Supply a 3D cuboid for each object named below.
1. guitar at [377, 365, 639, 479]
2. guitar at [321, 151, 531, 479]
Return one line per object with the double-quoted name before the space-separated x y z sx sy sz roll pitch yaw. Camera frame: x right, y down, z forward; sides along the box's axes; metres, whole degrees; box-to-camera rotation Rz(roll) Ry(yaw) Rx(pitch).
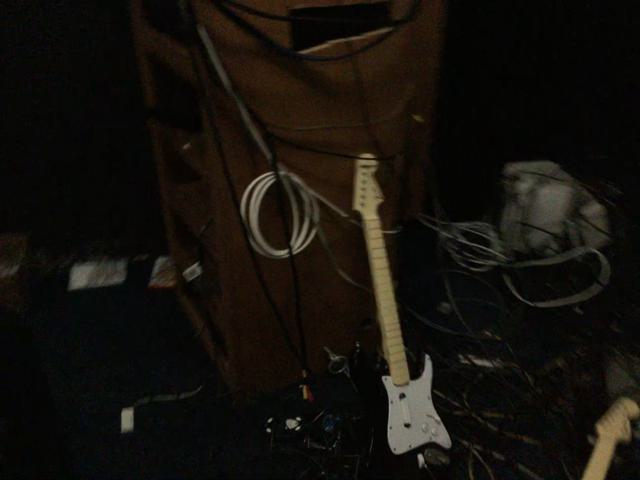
"guitar" 0.570 0.610 1.290 0.700 0.110 0.720 -7 29 -10
"guitar" 0.190 0.220 1.370 0.260 0.700 0.520 -7 29 -10
